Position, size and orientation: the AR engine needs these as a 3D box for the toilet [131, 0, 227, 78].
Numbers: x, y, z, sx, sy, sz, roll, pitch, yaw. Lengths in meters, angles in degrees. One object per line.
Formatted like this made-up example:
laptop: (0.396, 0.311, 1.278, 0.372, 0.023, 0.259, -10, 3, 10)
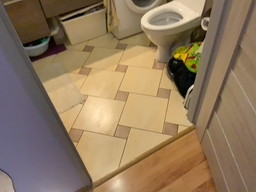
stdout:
toilet: (0.420, -0.690, 1.800, 0.660, 0.810, 0.400, -26, 52, -18)
